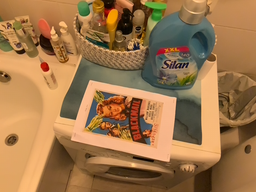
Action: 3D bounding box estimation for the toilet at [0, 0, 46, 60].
[{"bbox_3d":[-0.610,-0.310,0.870,0.440,0.270,0.120,8,60,1],"label":"toilet"}]
